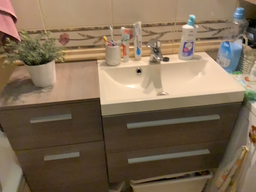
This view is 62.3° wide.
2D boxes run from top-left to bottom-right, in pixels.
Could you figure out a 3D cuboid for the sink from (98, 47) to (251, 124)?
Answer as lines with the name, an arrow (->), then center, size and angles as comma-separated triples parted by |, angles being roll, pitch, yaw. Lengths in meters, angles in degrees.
sink -> 0.170, -0.080, 1.020 | 0.600, 0.120, 0.410 | -6, 35, -7
